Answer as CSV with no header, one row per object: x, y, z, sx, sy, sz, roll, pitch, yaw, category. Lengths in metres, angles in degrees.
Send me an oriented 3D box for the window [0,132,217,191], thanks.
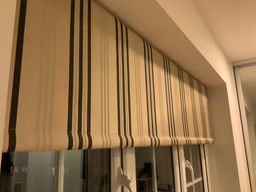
0.140,0.550,1.040,0.170,0.690,1.620,-11,-16,34,window
